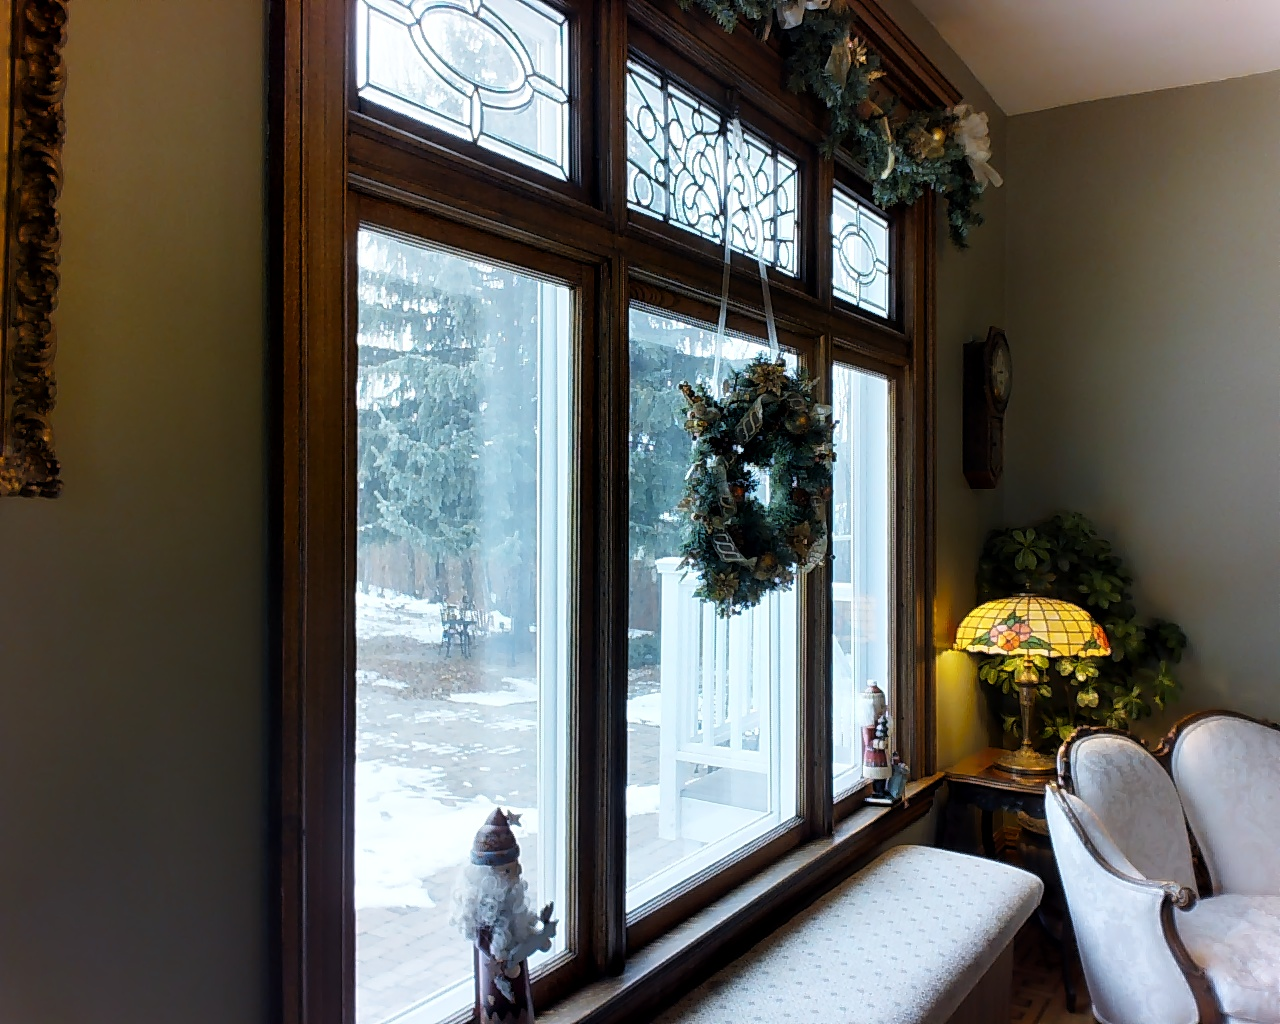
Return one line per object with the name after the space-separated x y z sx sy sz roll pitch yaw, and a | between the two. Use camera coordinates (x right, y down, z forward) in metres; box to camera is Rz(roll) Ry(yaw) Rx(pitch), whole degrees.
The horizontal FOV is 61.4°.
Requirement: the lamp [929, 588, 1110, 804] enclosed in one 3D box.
1.230 0.560 3.470 0.450 0.580 0.490 1 1 32 | lamp

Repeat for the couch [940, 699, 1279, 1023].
2.119 1.070 2.930 2.289 0.880 1.190 0 0 2 | couch

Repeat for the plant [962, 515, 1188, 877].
1.549 0.590 3.830 0.660 1.150 0.480 1 1 32 | plant
